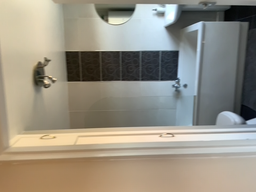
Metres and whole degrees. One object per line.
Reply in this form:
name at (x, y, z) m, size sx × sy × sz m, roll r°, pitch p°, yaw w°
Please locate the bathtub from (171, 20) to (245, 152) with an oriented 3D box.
bathtub at (1.040, -0.150, 2.970) m, size 0.740 × 0.590 × 1.630 m, roll -112°, pitch 22°, yaw -78°
